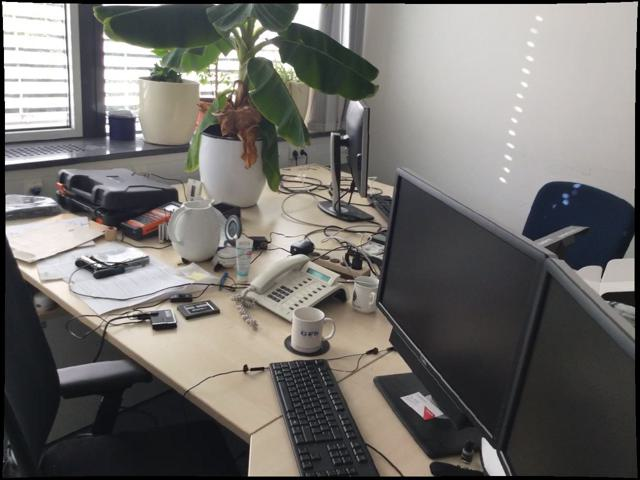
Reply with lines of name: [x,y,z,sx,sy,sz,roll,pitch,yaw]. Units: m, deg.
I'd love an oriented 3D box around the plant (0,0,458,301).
plant: [-0.340,-0.661,2.340,1.099,1.051,1.469,22,28,34]

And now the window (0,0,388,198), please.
window: [-0.959,-1.041,2.550,0.710,1.321,3.439,22,28,34]

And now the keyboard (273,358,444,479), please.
keyboard: [0.060,0.380,1.180,0.230,0.030,0.400,-3,24,-17]

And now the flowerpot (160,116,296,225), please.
flowerpot: [-0.400,-0.320,2.520,0.400,0.320,0.410,22,28,34]

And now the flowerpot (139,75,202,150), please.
flowerpot: [-0.739,-0.641,2.880,0.180,0.320,0.240,22,28,34]
